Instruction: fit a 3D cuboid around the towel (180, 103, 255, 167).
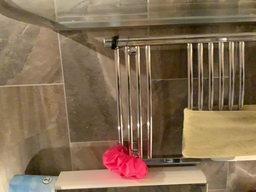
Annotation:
[{"bbox_3d":[0.500,0.170,0.960,0.110,0.500,0.250,-94,2,-76],"label":"towel"}]
